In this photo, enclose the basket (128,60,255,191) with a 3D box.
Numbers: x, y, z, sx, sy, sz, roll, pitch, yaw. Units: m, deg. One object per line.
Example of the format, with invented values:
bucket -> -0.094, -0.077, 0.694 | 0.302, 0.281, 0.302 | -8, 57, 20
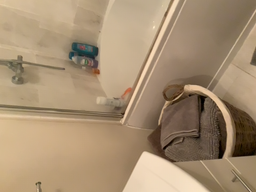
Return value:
basket -> 0.410, 0.180, 1.190 | 0.550, 0.520, 0.470 | 57, 131, 46
